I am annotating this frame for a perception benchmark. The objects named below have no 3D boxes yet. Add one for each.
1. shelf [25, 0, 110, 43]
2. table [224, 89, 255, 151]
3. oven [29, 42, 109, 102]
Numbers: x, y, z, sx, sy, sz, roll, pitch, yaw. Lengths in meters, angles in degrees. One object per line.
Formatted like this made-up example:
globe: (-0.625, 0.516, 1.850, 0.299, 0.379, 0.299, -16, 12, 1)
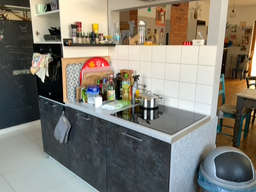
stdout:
shelf: (-0.640, -0.950, 2.230, 0.650, 0.740, 0.600, 14, 20, 41)
table: (1.650, 0.320, 3.070, 0.220, 0.750, 0.540, 13, 20, 40)
oven: (-0.650, -0.320, 2.390, 0.610, 0.550, 0.610, 14, 20, 41)
